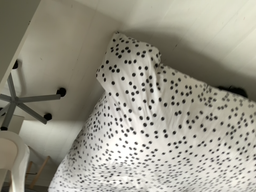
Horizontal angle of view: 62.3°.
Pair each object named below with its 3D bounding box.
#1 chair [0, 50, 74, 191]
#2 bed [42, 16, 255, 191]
[{"bbox_3d":[-0.810,0.240,1.270,0.670,0.750,0.660,19,137,-23],"label":"chair"},{"bbox_3d":[0.280,0.660,1.970,1.710,0.590,2.200,16,139,-21],"label":"bed"}]
